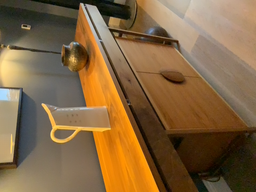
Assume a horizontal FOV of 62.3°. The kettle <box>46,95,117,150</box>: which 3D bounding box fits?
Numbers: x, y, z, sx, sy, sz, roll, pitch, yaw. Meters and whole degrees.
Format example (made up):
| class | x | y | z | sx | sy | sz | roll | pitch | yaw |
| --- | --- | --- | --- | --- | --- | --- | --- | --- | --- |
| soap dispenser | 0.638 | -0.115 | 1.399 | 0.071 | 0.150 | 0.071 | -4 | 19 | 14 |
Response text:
| class | x | y | z | sx | sy | sz | roll | pitch | yaw |
| --- | --- | --- | --- | --- | --- | --- | --- | --- | --- |
| kettle | -0.260 | 0.140 | 1.150 | 0.200 | 0.320 | 0.200 | -116 | 37 | -45 |
